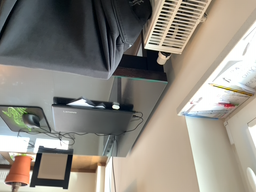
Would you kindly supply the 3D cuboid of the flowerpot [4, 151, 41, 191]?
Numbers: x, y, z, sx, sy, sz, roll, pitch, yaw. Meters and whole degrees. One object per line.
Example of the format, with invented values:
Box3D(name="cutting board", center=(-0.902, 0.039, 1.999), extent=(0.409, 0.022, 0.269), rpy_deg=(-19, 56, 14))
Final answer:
Box3D(name="flowerpot", center=(-1.730, 1.470, 3.420), extent=(0.390, 1.010, 0.440), rpy_deg=(13, 143, -20))
